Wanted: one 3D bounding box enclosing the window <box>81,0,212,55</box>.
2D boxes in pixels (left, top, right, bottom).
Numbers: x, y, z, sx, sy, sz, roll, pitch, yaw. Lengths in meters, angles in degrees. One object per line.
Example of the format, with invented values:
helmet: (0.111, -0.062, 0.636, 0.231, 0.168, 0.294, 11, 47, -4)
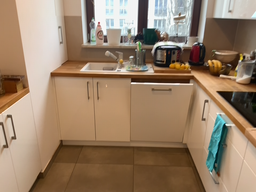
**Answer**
window: (0.210, -1.300, 2.460, 1.480, 1.570, 0.250, 2, 21, 1)
